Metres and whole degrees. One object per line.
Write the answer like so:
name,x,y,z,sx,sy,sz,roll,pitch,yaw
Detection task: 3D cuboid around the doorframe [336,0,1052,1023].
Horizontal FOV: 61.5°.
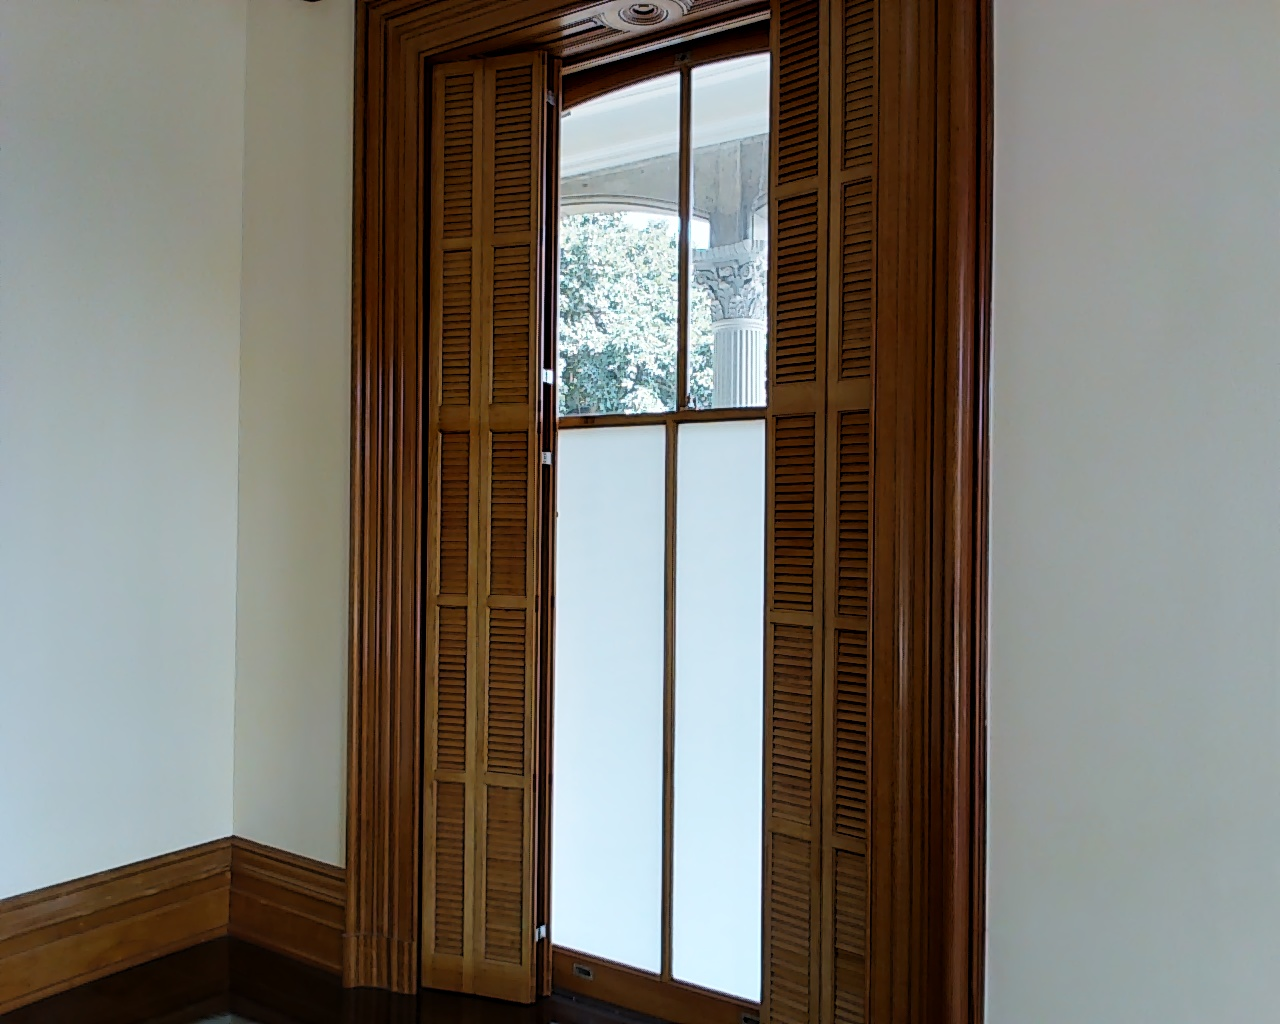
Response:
doorframe,0.050,-0.150,3.240,2.140,3.420,0.620,0,0,34
